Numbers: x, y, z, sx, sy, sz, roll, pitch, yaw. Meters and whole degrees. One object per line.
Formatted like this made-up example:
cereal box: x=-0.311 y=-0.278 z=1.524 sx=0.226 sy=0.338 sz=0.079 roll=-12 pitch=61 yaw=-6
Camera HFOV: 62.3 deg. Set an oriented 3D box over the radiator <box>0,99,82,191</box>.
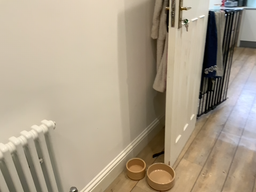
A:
radiator: x=-0.560 y=0.490 z=0.850 sx=0.120 sy=0.680 sz=0.830 roll=15 pitch=31 yaw=32
